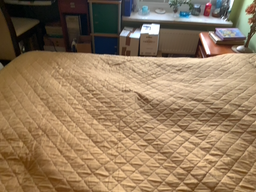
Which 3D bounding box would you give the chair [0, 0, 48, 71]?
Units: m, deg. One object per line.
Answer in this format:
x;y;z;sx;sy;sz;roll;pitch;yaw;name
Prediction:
-1.330;-0.880;2.360;0.470;1.010;0.540;8;39;6;chair
